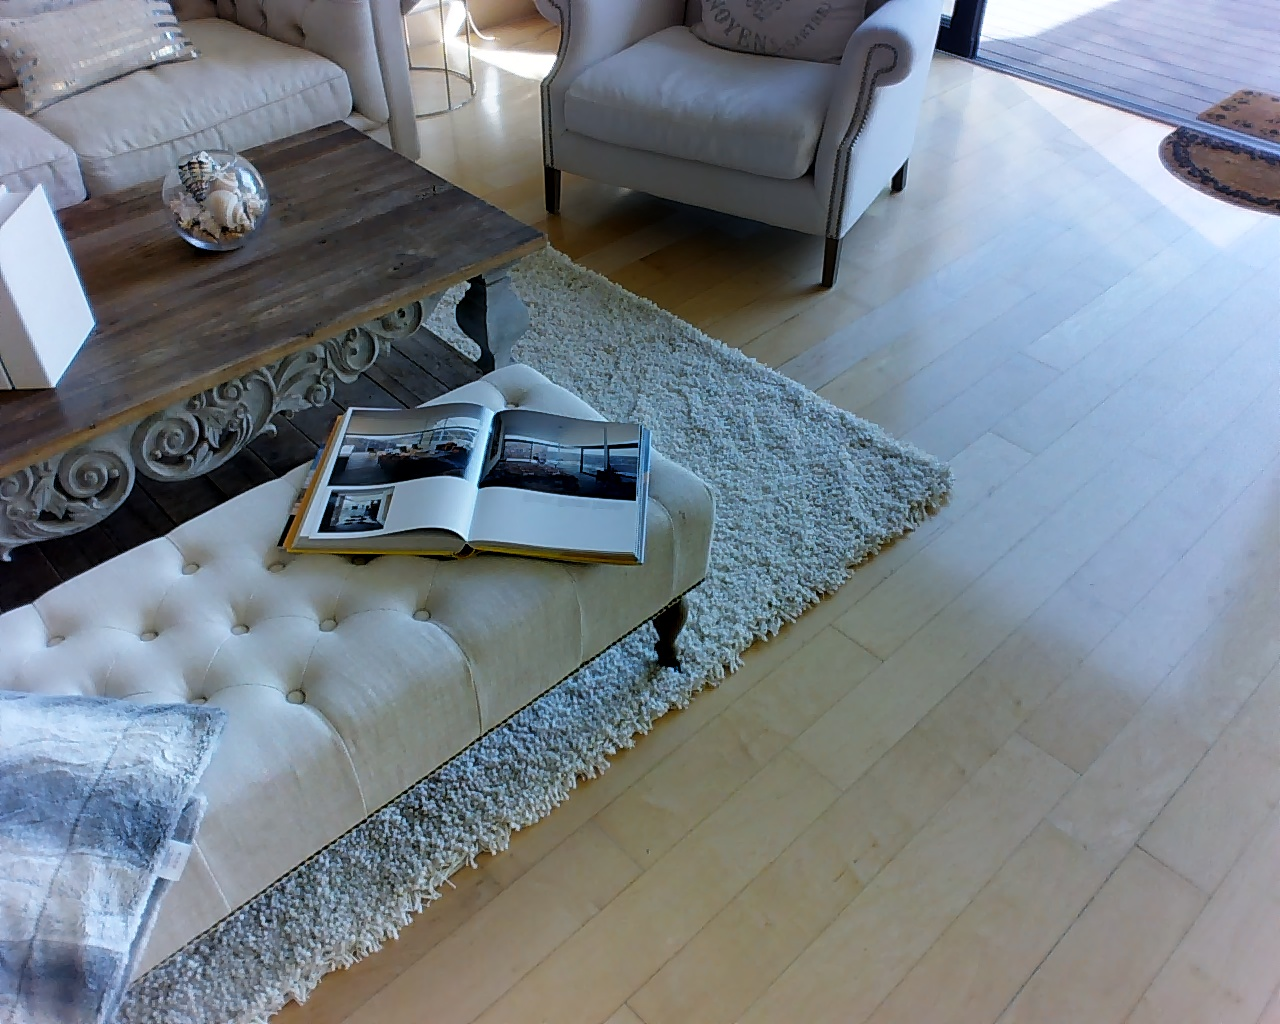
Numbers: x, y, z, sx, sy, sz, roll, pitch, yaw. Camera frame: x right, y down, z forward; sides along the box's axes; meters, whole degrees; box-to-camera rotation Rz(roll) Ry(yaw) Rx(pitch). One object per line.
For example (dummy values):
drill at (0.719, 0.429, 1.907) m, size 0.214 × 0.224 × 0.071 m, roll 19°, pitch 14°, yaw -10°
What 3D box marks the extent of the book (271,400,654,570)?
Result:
book at (-0.250, -0.050, 1.660) m, size 0.540 × 0.050 × 0.330 m, roll 1°, pitch 42°, yaw 1°
